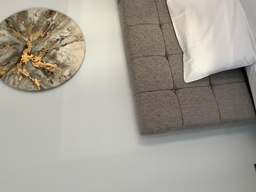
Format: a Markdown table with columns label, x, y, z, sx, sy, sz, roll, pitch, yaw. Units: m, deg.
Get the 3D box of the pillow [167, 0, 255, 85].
| label | x | y | z | sx | sy | sz | roll | pitch | yaw |
| --- | --- | --- | --- | --- | --- | --- | --- | --- | --- |
| pillow | 0.500 | -0.450 | 1.300 | 0.130 | 0.430 | 0.690 | 47 | -145 | -76 |
